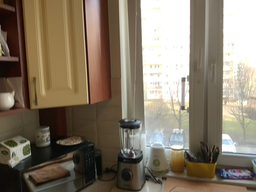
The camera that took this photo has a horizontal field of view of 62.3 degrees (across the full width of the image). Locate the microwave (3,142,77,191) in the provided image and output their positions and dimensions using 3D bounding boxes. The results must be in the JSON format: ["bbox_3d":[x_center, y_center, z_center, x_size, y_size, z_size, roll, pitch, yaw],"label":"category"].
[{"bbox_3d":[-0.570,0.460,1.430,0.290,0.170,0.360,0,6,15],"label":"microwave"}]
